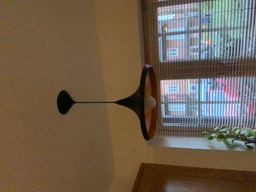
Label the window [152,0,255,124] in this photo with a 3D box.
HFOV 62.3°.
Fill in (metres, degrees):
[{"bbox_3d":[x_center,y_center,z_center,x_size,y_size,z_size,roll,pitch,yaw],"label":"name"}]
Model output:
[{"bbox_3d":[0.730,-0.280,1.560,0.100,1.050,1.000,-50,-43,-67],"label":"window"}]
